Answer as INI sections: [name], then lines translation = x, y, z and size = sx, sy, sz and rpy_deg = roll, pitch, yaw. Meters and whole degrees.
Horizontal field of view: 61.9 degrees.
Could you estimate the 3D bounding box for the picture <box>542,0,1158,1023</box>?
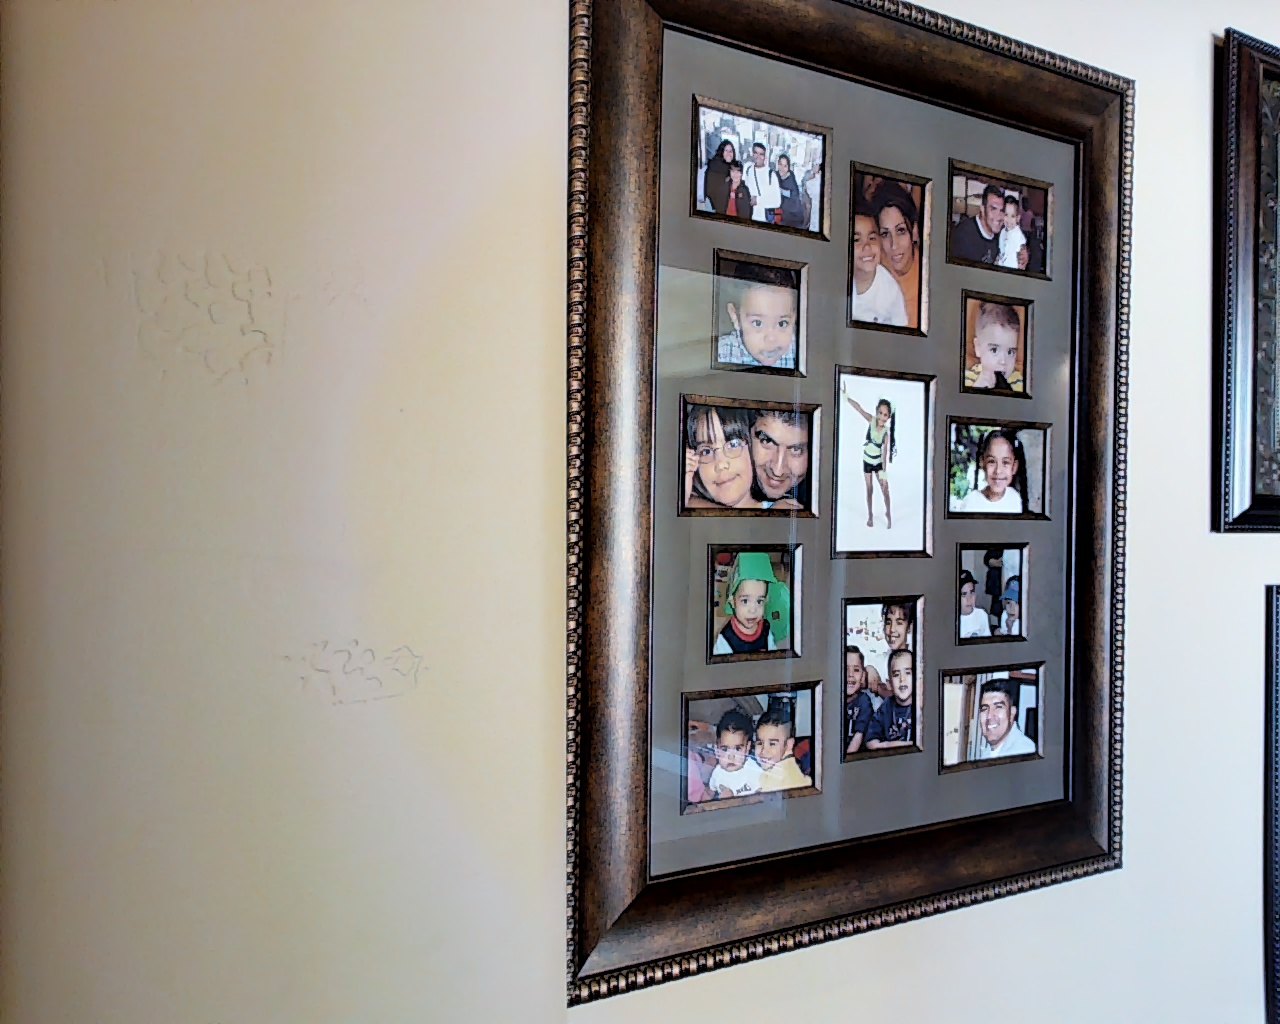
[picture]
translation = 0.250, -0.060, 1.020
size = 0.720, 0.950, 0.040
rpy_deg = 1, 0, -31
